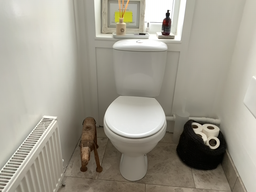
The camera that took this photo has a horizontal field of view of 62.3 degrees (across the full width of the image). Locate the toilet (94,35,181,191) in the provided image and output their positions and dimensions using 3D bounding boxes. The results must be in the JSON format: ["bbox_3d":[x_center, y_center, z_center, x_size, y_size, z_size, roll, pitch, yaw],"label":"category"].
[{"bbox_3d":[0.050,0.090,1.340,0.360,0.780,0.650,4,28,3],"label":"toilet"}]
